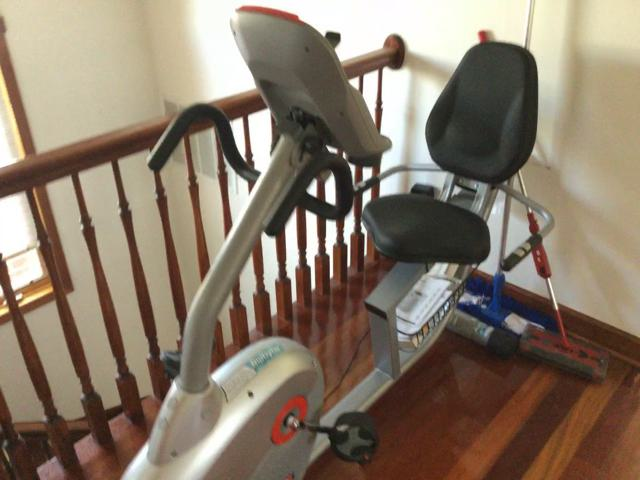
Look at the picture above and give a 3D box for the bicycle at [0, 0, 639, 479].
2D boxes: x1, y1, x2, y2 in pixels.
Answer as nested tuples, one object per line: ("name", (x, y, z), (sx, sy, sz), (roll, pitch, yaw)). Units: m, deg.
("bicycle", (0.030, 0.010, 1.430), (0.770, 1.230, 1.740), (26, 42, 36))
